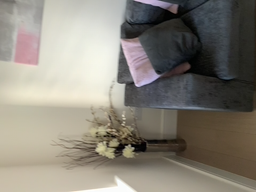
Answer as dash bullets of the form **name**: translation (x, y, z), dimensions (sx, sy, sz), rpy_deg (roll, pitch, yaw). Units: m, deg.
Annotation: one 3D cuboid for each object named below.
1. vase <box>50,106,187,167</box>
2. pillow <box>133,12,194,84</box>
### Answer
- **vase**: translation (-0.020, 0.350, 1.920), dimensions (0.200, 1.250, 0.440), rpy_deg (-5, 81, 62)
- **pillow**: translation (0.290, -0.380, 1.610), dimensions (0.200, 0.360, 0.450), rpy_deg (-38, 14, 35)
